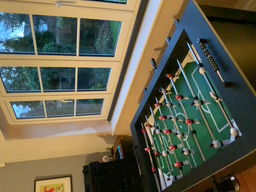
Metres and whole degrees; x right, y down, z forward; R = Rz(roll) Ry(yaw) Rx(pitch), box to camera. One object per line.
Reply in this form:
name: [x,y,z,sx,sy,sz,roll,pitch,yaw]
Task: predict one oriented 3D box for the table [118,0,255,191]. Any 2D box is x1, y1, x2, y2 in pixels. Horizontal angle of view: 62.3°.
table: [0.600,0.140,1.670,1.530,0.910,1.080,110,152,-50]
